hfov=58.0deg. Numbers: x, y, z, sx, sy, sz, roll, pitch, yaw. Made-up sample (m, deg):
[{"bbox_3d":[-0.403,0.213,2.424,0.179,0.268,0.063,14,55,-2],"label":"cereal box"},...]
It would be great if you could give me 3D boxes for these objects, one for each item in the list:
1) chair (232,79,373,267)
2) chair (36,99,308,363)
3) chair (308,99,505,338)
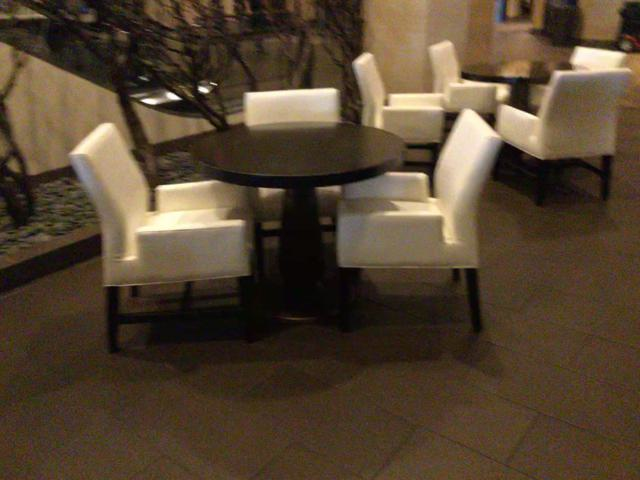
[{"bbox_3d":[-0.100,-0.380,3.020,0.610,0.770,0.660,-6,23,-5],"label":"chair"},{"bbox_3d":[-0.550,-0.080,2.510,0.880,0.870,0.700,-6,23,-4],"label":"chair"},{"bbox_3d":[0.370,-0.120,2.520,0.690,0.830,0.670,0,24,9],"label":"chair"}]
